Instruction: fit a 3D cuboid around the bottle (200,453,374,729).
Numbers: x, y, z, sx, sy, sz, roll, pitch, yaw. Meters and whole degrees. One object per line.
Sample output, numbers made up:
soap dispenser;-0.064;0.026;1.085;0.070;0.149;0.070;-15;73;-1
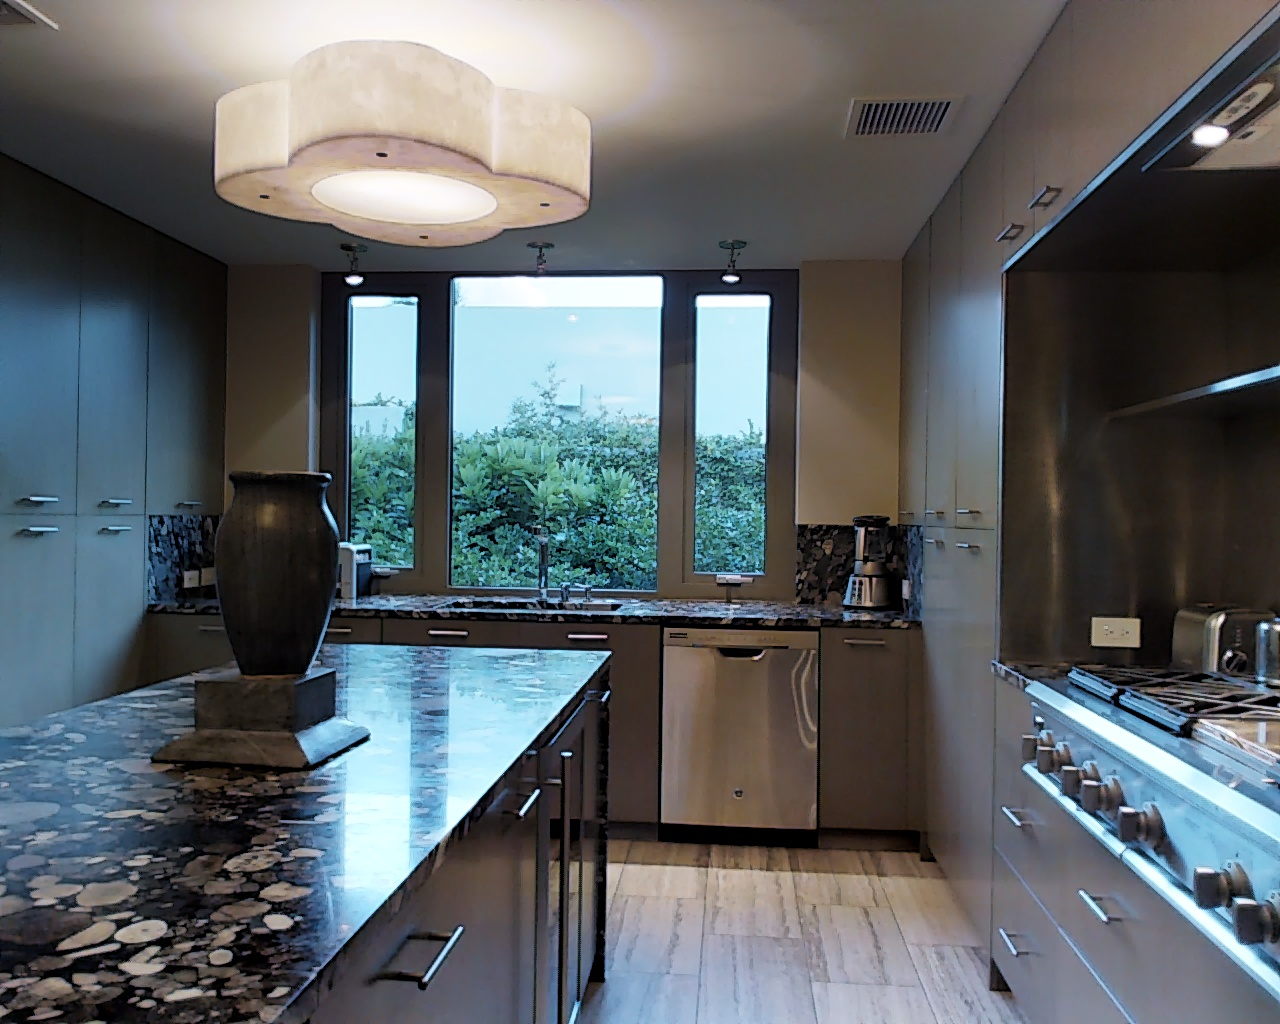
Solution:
bottle;-0.570;0.120;1.760;0.200;0.420;0.210;1;0;6

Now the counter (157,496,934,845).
counter;-0.390;0.600;4.660;3.100;1.300;0.820;1;0;6
